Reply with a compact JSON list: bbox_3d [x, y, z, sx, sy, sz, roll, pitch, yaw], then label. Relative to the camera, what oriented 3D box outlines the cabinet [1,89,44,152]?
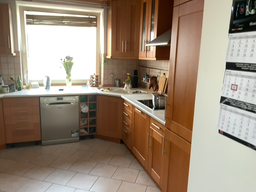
[{"bbox_3d":[-1.680,0.360,3.460,0.510,0.870,0.580,-2,12,-18],"label":"cabinet"}]

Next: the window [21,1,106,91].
[{"bbox_3d":[-1.180,-0.890,4.070,1.450,1.540,0.260,-2,12,-21],"label":"window"}]
